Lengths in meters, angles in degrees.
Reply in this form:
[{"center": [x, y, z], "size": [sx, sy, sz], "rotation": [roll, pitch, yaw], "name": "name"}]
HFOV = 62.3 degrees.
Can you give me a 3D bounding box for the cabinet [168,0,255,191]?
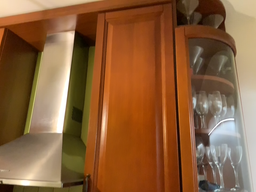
[{"center": [0.380, 0.310, 0.920], "size": [0.340, 1.690, 0.330], "rotation": [-3, -19, 13], "name": "cabinet"}]
